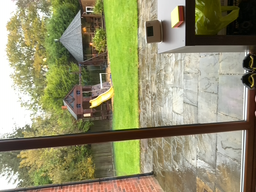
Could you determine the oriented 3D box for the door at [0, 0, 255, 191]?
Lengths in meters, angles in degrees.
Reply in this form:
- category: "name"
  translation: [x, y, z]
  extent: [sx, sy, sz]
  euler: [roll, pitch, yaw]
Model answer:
- category: "door"
  translation: [-0.020, 0.380, 1.500]
  extent: [0.120, 2.070, 4.220]
  euler: [-149, 57, -76]
